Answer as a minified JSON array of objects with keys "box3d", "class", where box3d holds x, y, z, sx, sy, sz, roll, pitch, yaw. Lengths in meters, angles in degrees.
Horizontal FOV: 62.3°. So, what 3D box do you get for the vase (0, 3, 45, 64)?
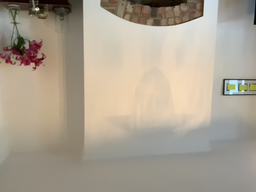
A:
[{"box3d":[-1.100,-0.610,2.180,0.390,0.550,0.320,-1,-172,-13],"class":"vase"}]
